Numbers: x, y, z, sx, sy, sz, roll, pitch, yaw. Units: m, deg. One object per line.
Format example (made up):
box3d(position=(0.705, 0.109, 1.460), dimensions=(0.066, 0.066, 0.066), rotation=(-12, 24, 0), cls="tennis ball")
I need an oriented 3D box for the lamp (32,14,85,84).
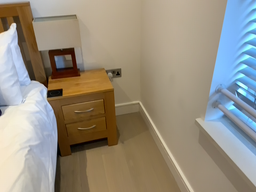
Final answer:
box3d(position=(-0.510, -0.360, 1.620), dimensions=(0.290, 0.460, 0.190), rotation=(-8, 32, -12), cls="lamp")
